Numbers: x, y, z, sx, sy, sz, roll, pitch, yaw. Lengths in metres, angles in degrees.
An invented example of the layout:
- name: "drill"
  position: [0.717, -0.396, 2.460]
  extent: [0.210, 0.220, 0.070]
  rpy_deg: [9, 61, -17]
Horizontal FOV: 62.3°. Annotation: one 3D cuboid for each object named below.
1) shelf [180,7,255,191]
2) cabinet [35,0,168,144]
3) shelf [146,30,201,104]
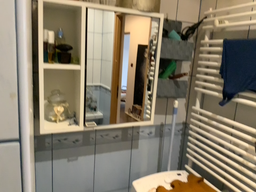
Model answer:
- name: "shelf"
  position: [0.590, 0.060, 1.190]
  extent: [0.120, 1.010, 0.660]
  rpy_deg: [-1, 12, -21]
- name: "cabinet"
  position: [-0.140, -0.130, 1.140]
  extent: [0.640, 0.660, 0.200]
  rpy_deg: [-2, 13, -25]
- name: "shelf"
  position: [0.280, -0.180, 1.350]
  extent: [0.240, 0.430, 0.180]
  rpy_deg: [-1, 12, -22]
